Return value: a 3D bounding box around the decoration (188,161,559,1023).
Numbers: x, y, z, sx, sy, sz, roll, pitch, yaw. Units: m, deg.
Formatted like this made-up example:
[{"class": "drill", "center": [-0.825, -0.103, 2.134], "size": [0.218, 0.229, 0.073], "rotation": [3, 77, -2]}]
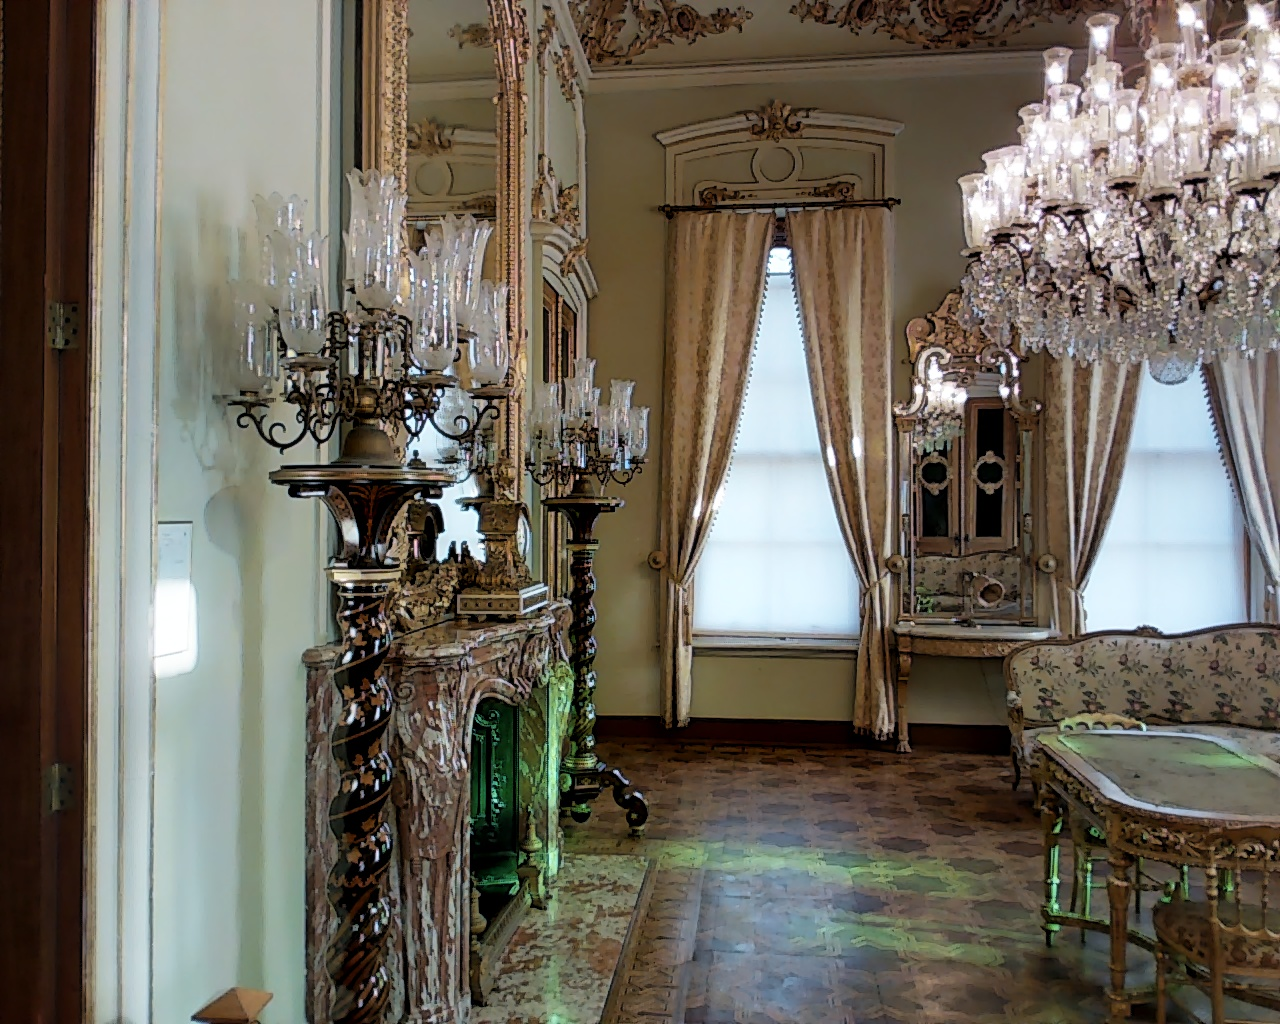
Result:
[{"class": "decoration", "center": [-0.630, 0.500, 2.750], "size": [0.680, 2.531, 0.730], "rotation": [0, -1, 9]}]
